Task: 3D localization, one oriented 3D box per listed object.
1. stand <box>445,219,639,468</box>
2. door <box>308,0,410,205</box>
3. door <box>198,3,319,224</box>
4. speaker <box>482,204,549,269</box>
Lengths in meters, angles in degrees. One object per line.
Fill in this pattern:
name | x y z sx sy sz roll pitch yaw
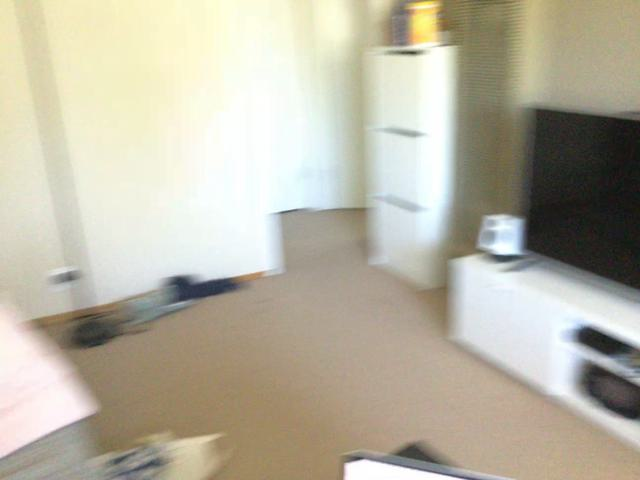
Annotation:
stand | 1.150 0.380 2.020 0.520 0.540 1.530 -14 19 -25
door | 0.300 -1.080 4.300 0.650 1.640 0.110 0 18 16
door | -0.420 -0.920 4.260 0.730 1.500 0.100 -14 19 -25
speaker | 0.810 -0.020 2.400 0.190 0.200 0.180 -14 19 -25
